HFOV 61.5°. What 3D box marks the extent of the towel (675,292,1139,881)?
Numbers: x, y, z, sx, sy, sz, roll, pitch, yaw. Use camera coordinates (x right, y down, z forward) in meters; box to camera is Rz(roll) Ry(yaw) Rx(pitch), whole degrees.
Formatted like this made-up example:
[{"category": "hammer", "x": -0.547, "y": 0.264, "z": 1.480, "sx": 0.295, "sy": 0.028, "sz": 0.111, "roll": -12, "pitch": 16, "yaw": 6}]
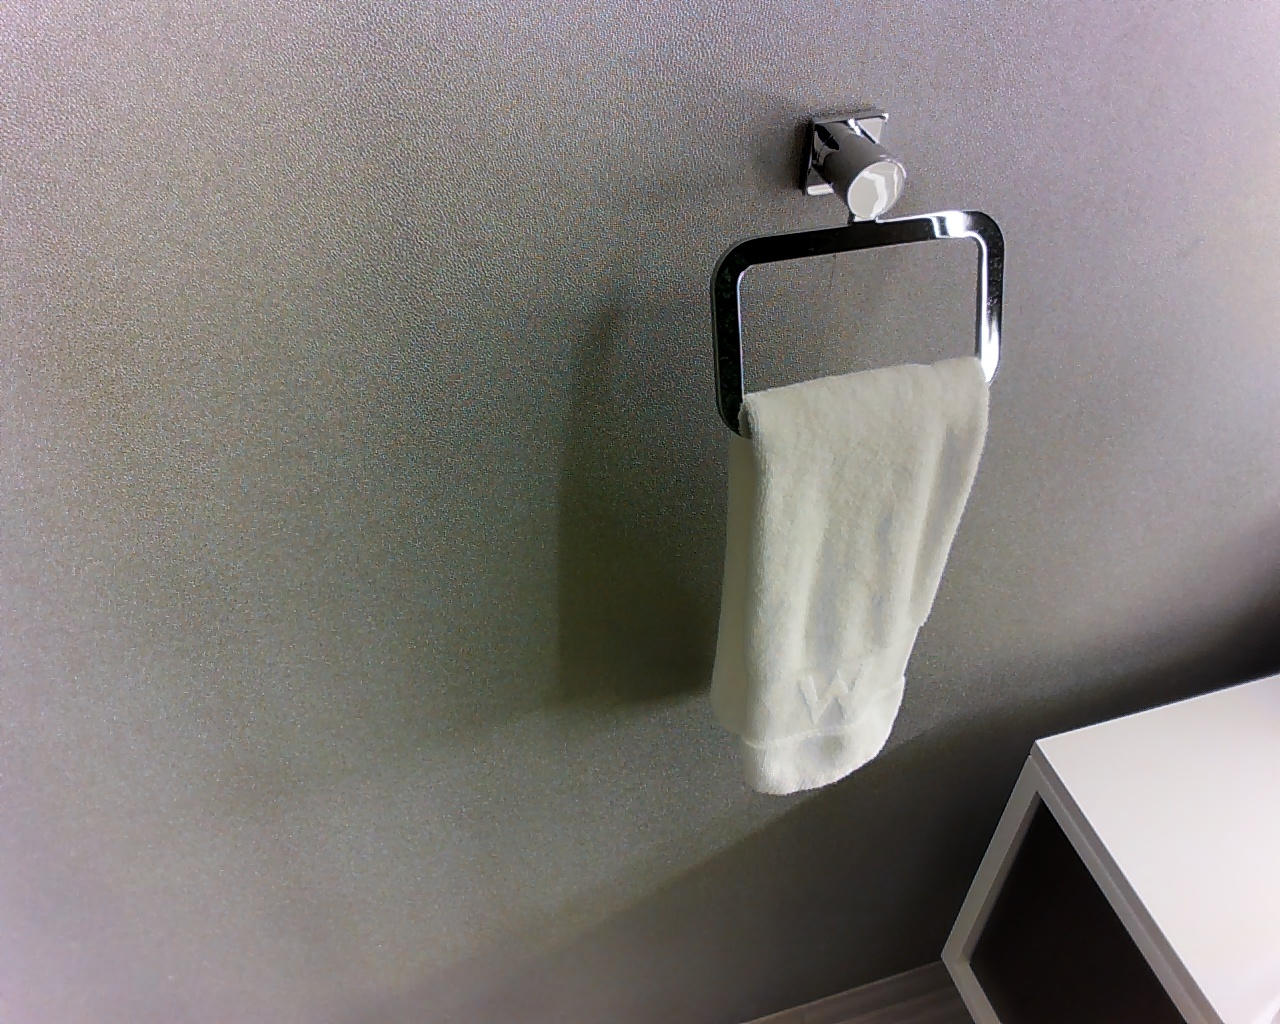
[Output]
[{"category": "towel", "x": 0.160, "y": 0.070, "z": 0.790, "sx": 0.220, "sy": 0.400, "sz": 0.160, "roll": -11, "pitch": 44, "yaw": -12}]
